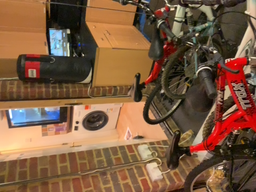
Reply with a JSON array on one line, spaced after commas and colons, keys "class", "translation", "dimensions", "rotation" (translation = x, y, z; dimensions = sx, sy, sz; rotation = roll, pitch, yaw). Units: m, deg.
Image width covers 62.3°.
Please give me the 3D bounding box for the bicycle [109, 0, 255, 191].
[{"class": "bicycle", "translation": [0.570, 0.090, 1.200], "dimensions": [0.650, 0.950, 1.750], "rotation": [-119, 35, -47]}]
